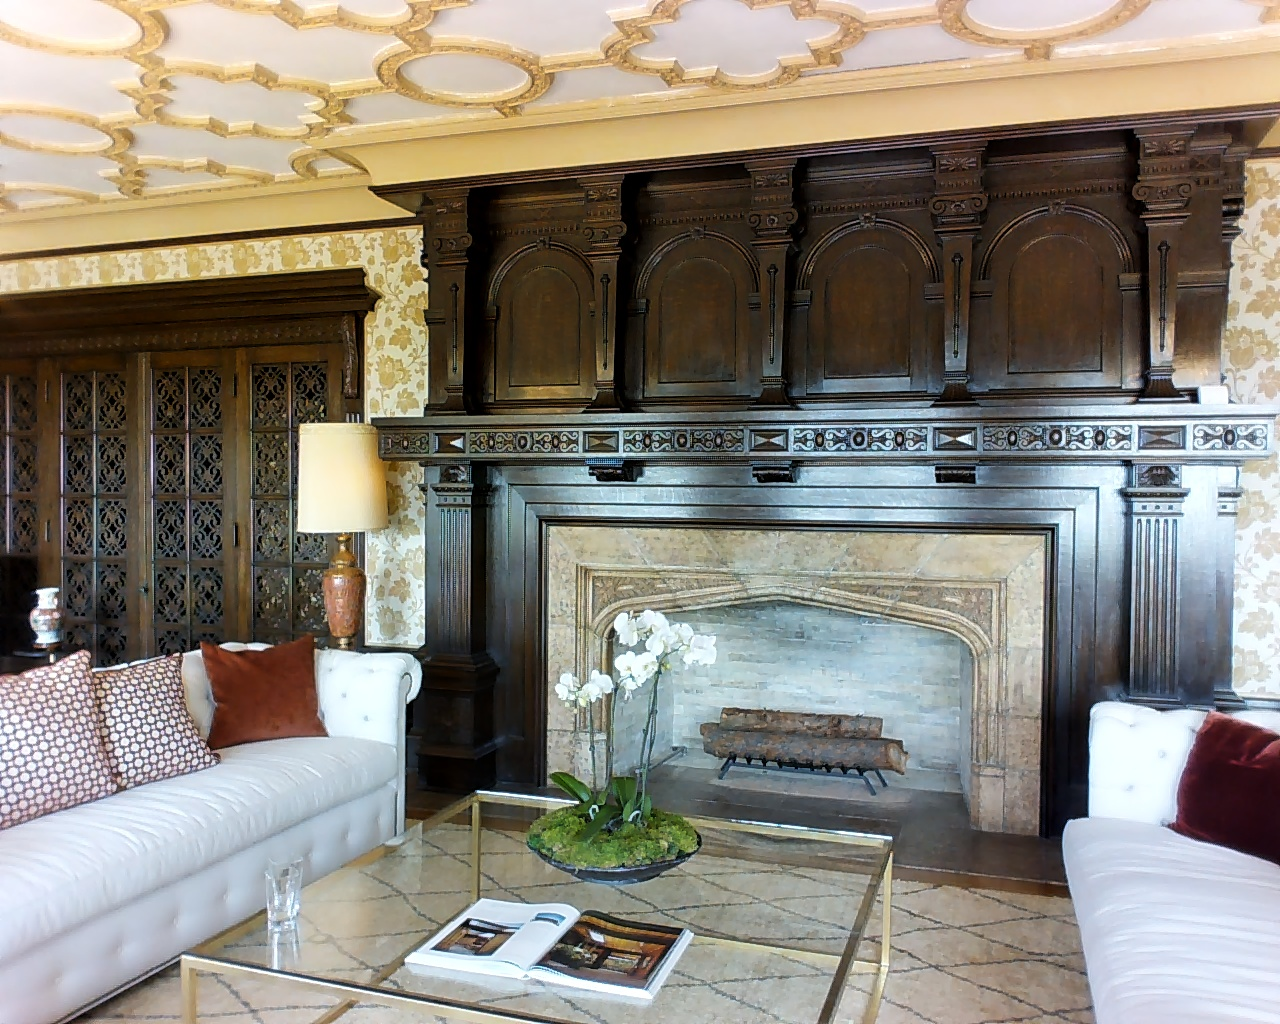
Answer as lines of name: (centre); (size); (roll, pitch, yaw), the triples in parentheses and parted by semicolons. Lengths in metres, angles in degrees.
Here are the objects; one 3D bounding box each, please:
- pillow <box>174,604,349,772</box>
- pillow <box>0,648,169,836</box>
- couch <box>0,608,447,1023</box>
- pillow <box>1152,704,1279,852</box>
pillow: (-1.550, 0.730, 4.450); (0.510, 0.510, 0.170); (29, -35, -25)
pillow: (-1.950, 0.710, 3.480); (0.480, 0.430, 0.640); (1, 1, 19)
couch: (-1.820, 0.970, 3.640); (1.100, 0.970, 2.780); (1, 1, 18)
pillow: (1.920, 0.800, 3.250); (0.610, 0.390, 0.340); (-3, -9, 40)
